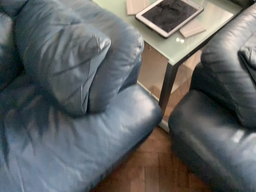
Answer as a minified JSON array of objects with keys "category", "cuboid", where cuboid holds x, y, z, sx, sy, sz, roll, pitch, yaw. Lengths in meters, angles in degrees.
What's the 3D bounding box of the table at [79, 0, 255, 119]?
[{"category":"table","cuboid":[0.210,-0.400,1.230,0.680,0.530,0.630,-38,67,-20]}]
